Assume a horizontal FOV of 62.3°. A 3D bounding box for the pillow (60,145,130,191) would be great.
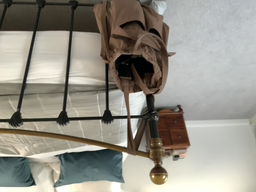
[{"bbox_3d":[-0.290,0.630,1.880,0.580,0.300,0.180,-3,179,-15],"label":"pillow"}]
